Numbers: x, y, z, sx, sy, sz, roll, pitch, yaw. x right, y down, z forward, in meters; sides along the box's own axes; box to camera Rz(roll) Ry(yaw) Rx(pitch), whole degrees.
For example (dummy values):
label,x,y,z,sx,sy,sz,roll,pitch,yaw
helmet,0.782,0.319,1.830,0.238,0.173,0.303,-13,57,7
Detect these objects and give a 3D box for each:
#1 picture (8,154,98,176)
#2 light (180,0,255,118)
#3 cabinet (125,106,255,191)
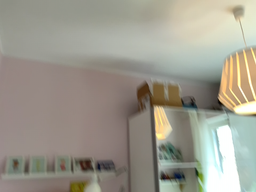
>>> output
label,x,y,z,sx,sy,sz,roll,pitch,yaw
picture,-0.770,0.730,2.270,0.880,0.200,0.110,5,-20,-21
light,0.910,-0.350,1.730,0.580,0.990,0.700,12,-13,-38
cabinet,1.060,1.410,2.500,2.010,2.340,0.680,6,-20,-23
